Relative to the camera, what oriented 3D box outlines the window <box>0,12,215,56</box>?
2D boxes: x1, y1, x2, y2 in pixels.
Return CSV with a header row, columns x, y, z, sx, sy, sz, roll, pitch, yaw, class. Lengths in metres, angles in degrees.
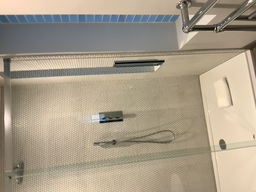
x,y,z,sx,sy,sz,roll,pitch,yaw,class
-0.230,-0.380,1.360,0.500,1.430,0.040,139,126,-76,window
